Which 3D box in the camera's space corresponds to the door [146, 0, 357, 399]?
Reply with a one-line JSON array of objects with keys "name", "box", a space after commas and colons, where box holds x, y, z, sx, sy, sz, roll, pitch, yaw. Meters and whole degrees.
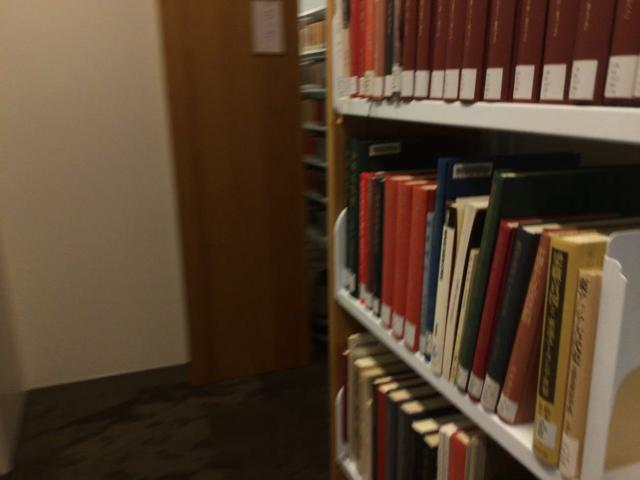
[{"name": "door", "box": [-0.280, -0.380, 2.640, 0.840, 2.140, 0.290, -7, 16, -19]}]
